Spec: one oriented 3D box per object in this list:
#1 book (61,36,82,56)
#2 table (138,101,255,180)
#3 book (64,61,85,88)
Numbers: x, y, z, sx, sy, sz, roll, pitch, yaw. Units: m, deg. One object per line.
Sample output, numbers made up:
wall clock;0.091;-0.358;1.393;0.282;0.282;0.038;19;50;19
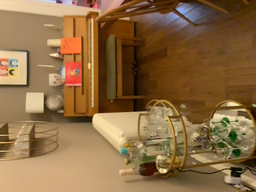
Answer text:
book;-0.820;-0.720;3.080;0.130;0.290;0.250;-176;87;-70
table;0.450;0.240;1.410;0.390;0.670;0.390;-177;87;-69
book;-0.780;-0.310;3.090;0.070;0.280;0.360;-178;90;-70
